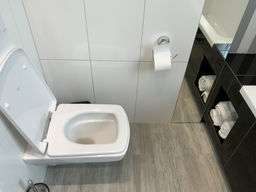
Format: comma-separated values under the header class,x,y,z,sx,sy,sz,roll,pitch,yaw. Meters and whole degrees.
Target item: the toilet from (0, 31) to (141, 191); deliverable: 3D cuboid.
class,x,y,z,sx,sy,sz,roll,pitch,yaw
toilet,-0.240,0.150,1.160,0.550,0.850,0.390,4,43,0
